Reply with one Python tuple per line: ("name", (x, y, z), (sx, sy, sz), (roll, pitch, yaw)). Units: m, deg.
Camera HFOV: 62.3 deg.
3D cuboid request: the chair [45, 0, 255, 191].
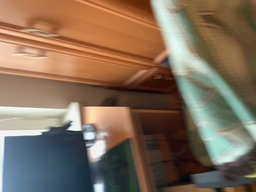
("chair", (0.380, 0.030, 0.890), (0.620, 1.230, 0.710), (-23, 67, 49))
